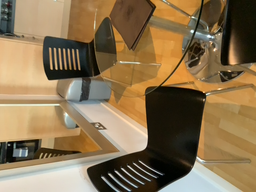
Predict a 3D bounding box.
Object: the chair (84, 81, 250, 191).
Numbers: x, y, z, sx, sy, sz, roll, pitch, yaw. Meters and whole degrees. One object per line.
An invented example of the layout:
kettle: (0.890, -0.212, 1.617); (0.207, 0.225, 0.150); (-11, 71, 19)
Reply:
chair: (0.240, 0.240, 1.240); (0.390, 0.830, 0.530); (29, 112, 51)
